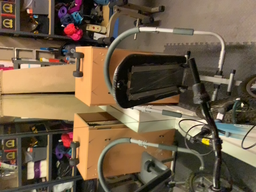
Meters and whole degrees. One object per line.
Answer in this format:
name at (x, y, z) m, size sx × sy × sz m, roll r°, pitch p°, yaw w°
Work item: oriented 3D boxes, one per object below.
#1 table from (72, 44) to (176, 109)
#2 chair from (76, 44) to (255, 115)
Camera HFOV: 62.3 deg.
table at (-0.050, -0.220, 2.200) m, size 0.510 × 0.910 × 0.540 m, roll 20°, pitch 109°, yaw 58°
chair at (0.250, -0.160, 1.520) m, size 0.700 × 1.050 × 0.280 m, roll 28°, pitch 116°, yaw 56°
